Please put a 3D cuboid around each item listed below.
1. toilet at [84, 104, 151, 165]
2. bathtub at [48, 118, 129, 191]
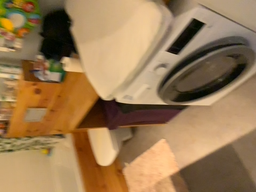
[{"bbox_3d":[-0.120,0.380,2.170,0.350,0.450,0.470,-49,52,39],"label":"toilet"},{"bbox_3d":[-0.400,1.190,2.390,0.690,0.550,1.760,-47,53,40],"label":"bathtub"}]
